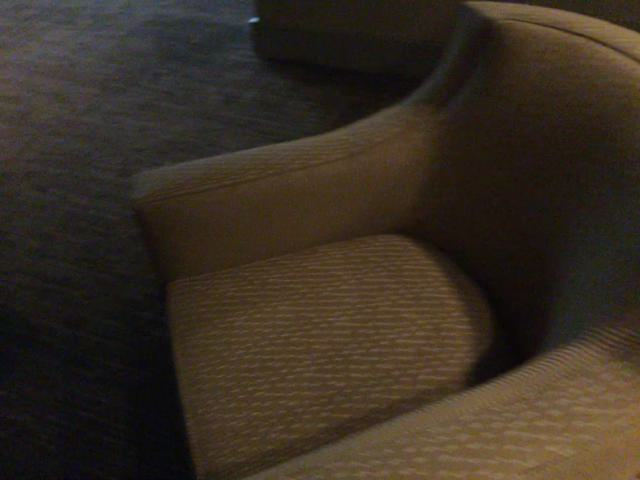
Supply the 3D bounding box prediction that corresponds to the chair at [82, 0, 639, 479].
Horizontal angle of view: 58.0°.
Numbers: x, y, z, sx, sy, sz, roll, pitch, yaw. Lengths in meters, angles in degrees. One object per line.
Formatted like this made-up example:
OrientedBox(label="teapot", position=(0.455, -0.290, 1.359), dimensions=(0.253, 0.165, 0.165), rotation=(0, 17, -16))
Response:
OrientedBox(label="chair", position=(0.180, 0.130, 1.100), dimensions=(0.980, 0.880, 0.890), rotation=(-12, 40, -14))
